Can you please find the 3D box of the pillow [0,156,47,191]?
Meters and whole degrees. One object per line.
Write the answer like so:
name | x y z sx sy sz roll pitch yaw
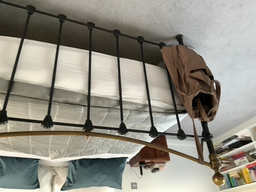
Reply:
pillow | -1.040 0.670 1.800 0.610 0.270 0.120 14 -176 -17

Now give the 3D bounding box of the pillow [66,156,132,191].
pillow | -0.270 0.760 2.040 0.580 0.300 0.180 8 175 -30
